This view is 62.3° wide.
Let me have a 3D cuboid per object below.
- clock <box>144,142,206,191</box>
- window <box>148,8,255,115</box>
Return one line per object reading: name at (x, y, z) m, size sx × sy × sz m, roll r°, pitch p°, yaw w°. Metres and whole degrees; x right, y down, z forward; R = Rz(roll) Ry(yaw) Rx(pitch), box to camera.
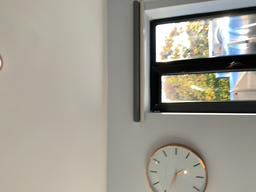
clock at (0.350, 0.590, 1.610) m, size 0.030 × 0.460 × 0.440 m, roll 6°, pitch -96°, yaw -72°
window at (0.850, -0.270, 1.780) m, size 0.130 × 1.370 × 0.840 m, roll 0°, pitch -90°, yaw -72°
